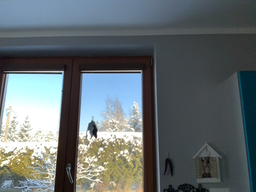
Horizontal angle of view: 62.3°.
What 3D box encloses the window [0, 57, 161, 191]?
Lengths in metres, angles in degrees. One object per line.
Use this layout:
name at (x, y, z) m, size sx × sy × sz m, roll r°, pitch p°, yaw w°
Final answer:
window at (-0.510, 0.470, 1.750) m, size 1.510 × 1.570 × 0.280 m, roll 0°, pitch -13°, yaw 2°
